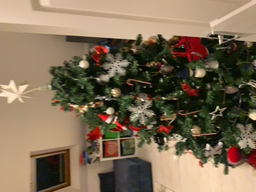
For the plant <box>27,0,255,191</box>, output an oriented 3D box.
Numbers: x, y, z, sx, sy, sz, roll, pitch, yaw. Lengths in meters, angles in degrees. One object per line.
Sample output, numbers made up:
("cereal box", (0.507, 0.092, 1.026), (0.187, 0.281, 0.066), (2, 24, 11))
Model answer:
("plant", (0.270, 0.020, 1.620), (1.130, 1.710, 1.110), (-138, 49, -66))
